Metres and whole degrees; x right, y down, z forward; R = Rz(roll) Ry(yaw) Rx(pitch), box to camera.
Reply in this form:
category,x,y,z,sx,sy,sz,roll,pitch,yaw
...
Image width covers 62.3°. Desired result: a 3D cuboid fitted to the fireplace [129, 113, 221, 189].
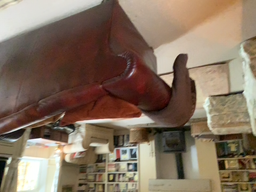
category,x,y,z,sx,sy,sz,roll,pitch,yaw
fireplace,1.050,1.330,4.980,1.830,1.480,0.910,-10,159,24

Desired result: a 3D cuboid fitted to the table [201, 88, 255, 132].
category,x,y,z,sx,sy,sz,roll,pitch,yaw
table,1.590,0.260,3.450,0.660,0.500,0.690,-8,159,19
